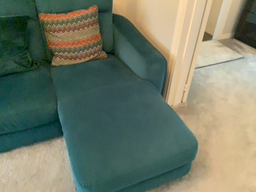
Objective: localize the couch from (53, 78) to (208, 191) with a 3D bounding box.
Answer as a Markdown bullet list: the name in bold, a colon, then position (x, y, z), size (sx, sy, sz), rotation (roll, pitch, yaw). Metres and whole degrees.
- **couch**: position (-0.030, 0.290, 1.370), size (0.720, 0.440, 0.600), rotation (-13, 41, -20)
